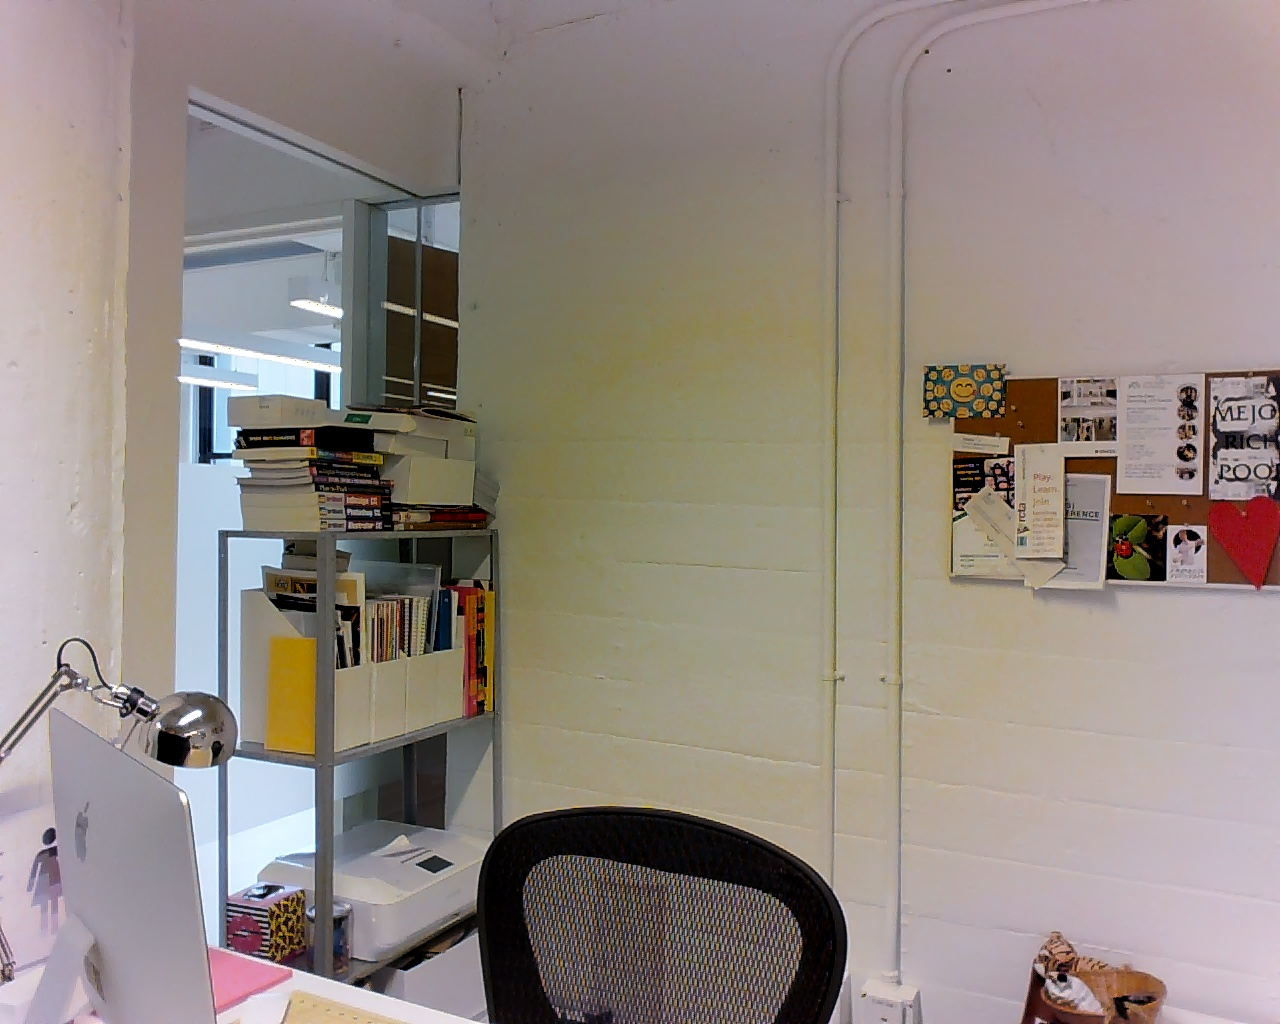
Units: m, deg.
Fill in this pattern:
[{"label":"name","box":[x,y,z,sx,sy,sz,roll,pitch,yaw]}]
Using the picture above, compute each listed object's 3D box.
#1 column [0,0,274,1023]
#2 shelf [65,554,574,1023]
[{"label":"column","box":[-0.930,-0.190,1.580,0.290,1.820,0.720,1,-1,25]},{"label":"shelf","box":[-0.620,0.730,2.300,0.560,1.250,0.920,1,-1,25]}]
